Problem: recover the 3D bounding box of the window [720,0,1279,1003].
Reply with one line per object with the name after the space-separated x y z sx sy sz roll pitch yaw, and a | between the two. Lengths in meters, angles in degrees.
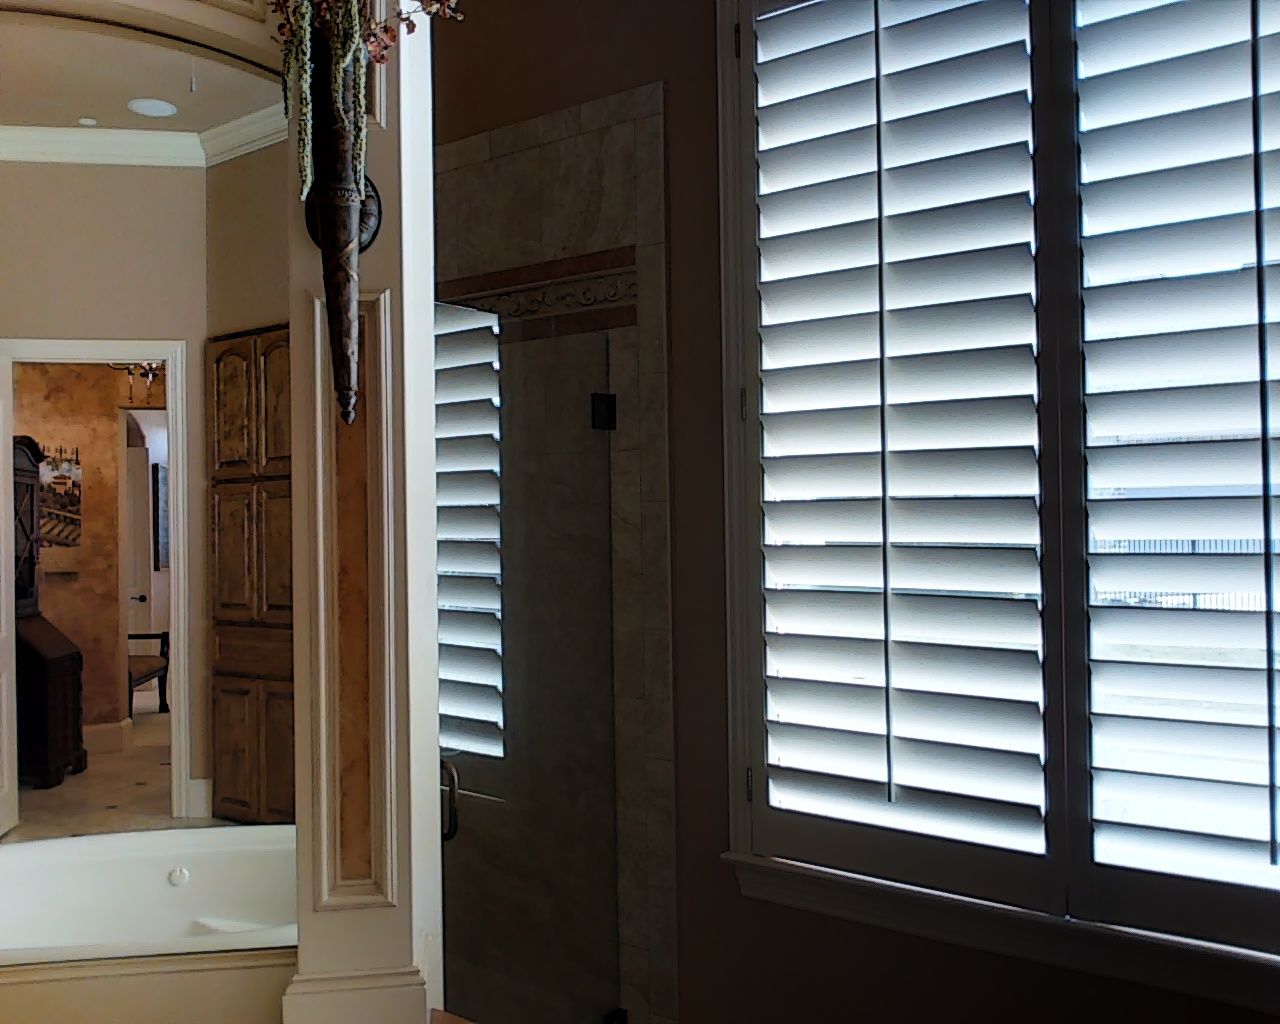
0.860 -0.240 2.110 1.540 2.181 0.130 -1 -1 36 | window
